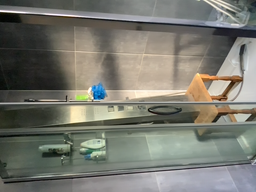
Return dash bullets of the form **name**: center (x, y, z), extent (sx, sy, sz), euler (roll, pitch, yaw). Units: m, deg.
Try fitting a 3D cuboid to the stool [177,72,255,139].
- **stool**: center (0.790, 0.080, 1.920), extent (0.380, 0.470, 0.450), euler (104, 162, -47)
